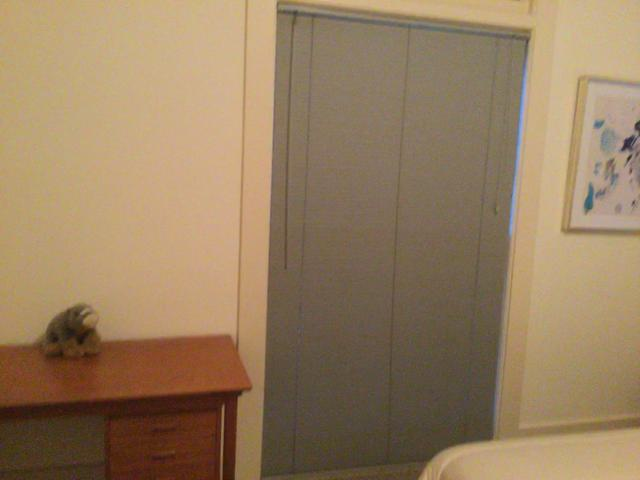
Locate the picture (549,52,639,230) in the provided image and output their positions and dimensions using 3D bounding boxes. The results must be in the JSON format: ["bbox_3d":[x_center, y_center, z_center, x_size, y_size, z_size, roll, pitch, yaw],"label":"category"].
[{"bbox_3d":[1.550,-0.440,2.730,0.970,0.780,0.070,0,6,-14],"label":"picture"}]

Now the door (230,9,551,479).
[{"bbox_3d":[0.320,0.090,2.540,1.390,1.980,0.090,0,6,-14],"label":"door"}]

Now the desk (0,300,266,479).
[{"bbox_3d":[-0.820,0.680,2.000,1.170,0.810,0.590,0,6,-14],"label":"desk"}]
